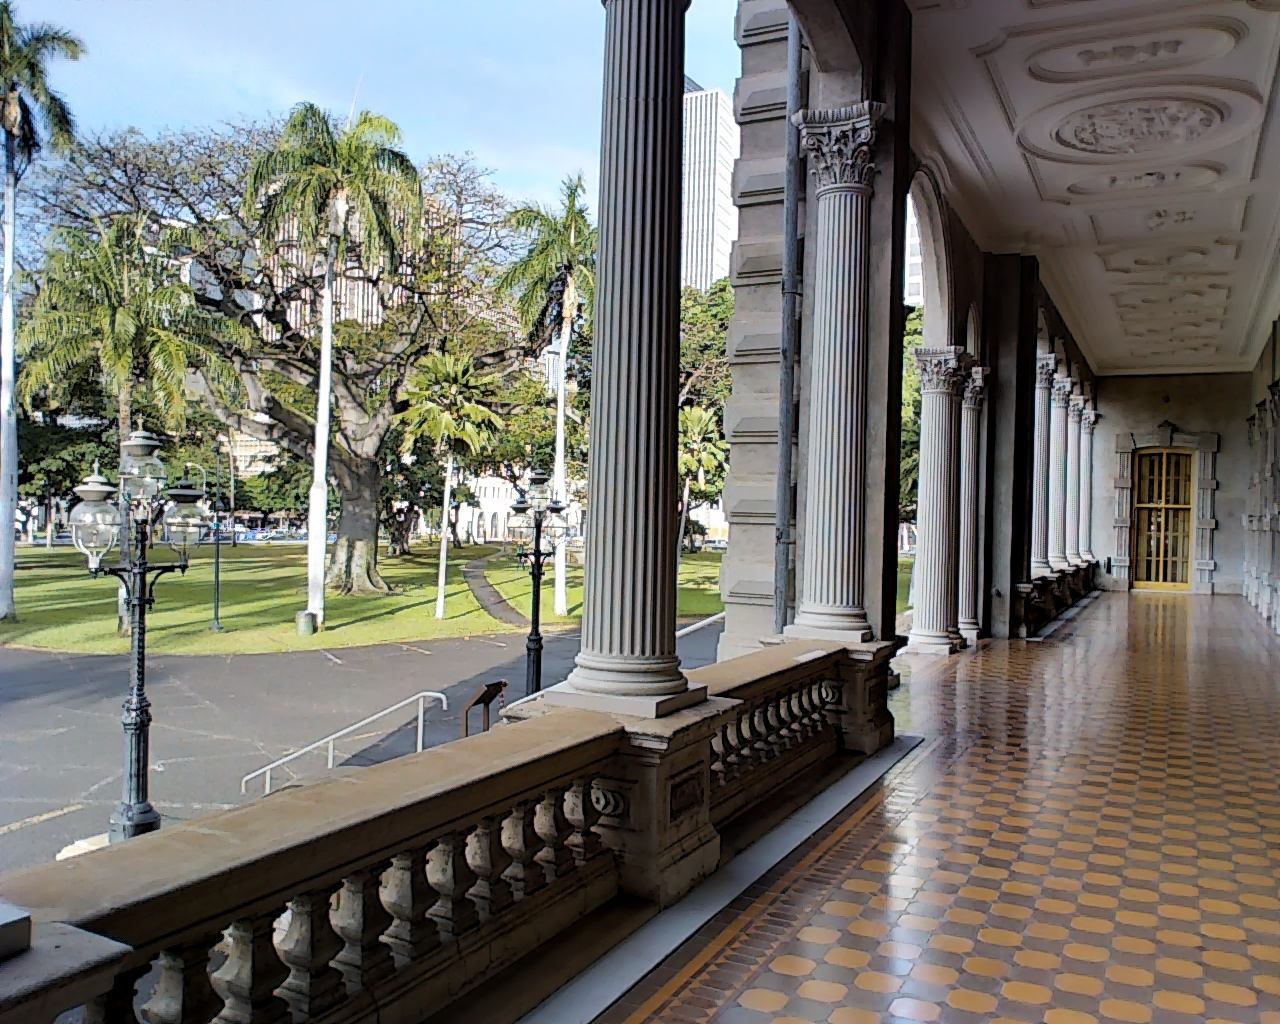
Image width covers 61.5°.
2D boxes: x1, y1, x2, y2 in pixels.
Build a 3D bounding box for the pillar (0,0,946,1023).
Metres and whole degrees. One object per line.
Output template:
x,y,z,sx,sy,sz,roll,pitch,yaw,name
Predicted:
-1.020,-1.240,2.130,0.680,5.601,13.400,2,0,26,pillar
